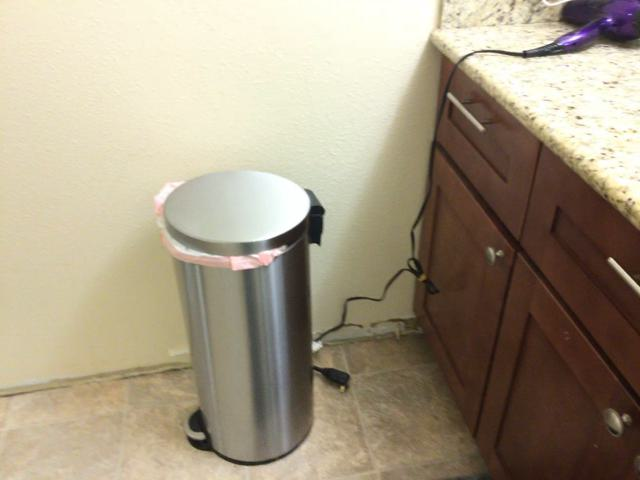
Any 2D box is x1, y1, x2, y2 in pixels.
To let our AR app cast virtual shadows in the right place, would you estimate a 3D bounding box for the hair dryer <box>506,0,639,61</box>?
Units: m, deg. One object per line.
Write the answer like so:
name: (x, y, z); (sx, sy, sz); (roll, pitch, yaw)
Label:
hair dryer: (0.520, -0.430, 1.130); (0.220, 0.090, 0.210); (-4, 35, -9)
